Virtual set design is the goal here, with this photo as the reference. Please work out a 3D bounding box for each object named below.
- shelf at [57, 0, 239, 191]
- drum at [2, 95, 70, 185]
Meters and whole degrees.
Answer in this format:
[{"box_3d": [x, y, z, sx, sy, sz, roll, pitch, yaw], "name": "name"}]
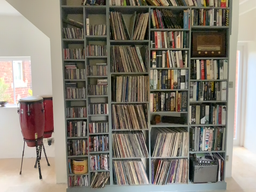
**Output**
[{"box_3d": [0.250, -0.030, 2.700, 2.090, 2.630, 0.350, -1, 5, -3], "name": "shelf"}, {"box_3d": [-1.390, 0.610, 3.370, 0.600, 1.180, 0.900, 1, 5, 4], "name": "drum"}]
